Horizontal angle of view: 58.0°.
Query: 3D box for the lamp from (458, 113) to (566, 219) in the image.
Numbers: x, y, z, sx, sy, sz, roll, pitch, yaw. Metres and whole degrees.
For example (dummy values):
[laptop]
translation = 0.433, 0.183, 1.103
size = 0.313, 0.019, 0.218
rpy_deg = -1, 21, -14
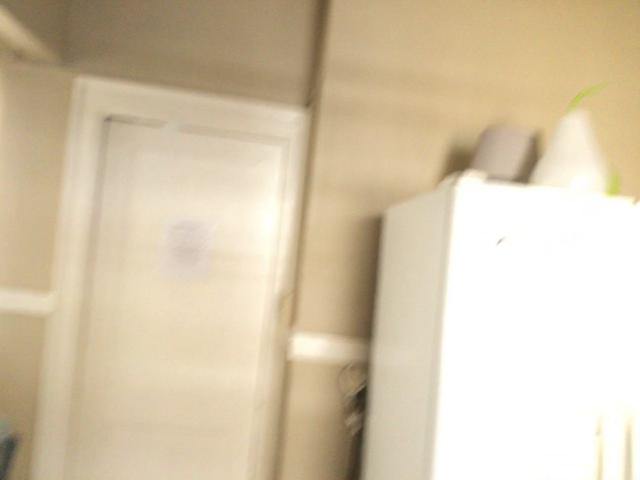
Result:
[lamp]
translation = 0.590, -0.220, 1.810
size = 0.220, 0.260, 0.260
rpy_deg = 7, -3, -1
